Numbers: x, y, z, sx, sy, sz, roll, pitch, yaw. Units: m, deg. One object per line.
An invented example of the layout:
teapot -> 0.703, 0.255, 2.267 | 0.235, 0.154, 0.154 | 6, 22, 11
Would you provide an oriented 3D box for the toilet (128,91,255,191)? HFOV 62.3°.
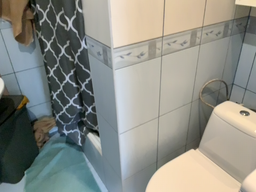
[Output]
toilet -> 0.380, 0.480, 1.170 | 0.640, 0.780, 0.380 | -20, 36, -27
